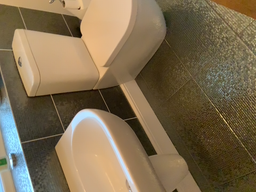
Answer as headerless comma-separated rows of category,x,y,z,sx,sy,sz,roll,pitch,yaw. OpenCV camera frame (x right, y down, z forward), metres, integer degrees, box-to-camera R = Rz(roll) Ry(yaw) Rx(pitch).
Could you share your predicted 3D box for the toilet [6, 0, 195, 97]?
toilet,-0.170,-0.390,1.250,0.660,0.810,0.410,-49,60,39
